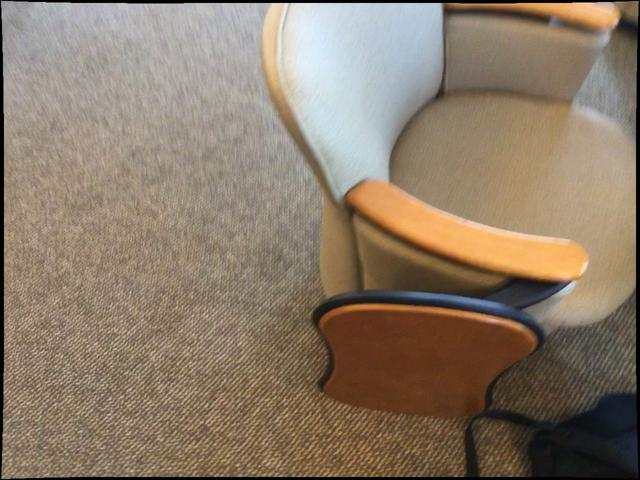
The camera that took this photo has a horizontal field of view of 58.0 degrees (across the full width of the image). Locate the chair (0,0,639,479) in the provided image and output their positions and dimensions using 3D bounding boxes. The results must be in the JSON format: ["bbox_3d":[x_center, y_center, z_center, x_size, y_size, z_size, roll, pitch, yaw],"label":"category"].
[{"bbox_3d":[0.160,-0.090,1.140,0.819,0.851,0.961,19,58,16],"label":"chair"}]
